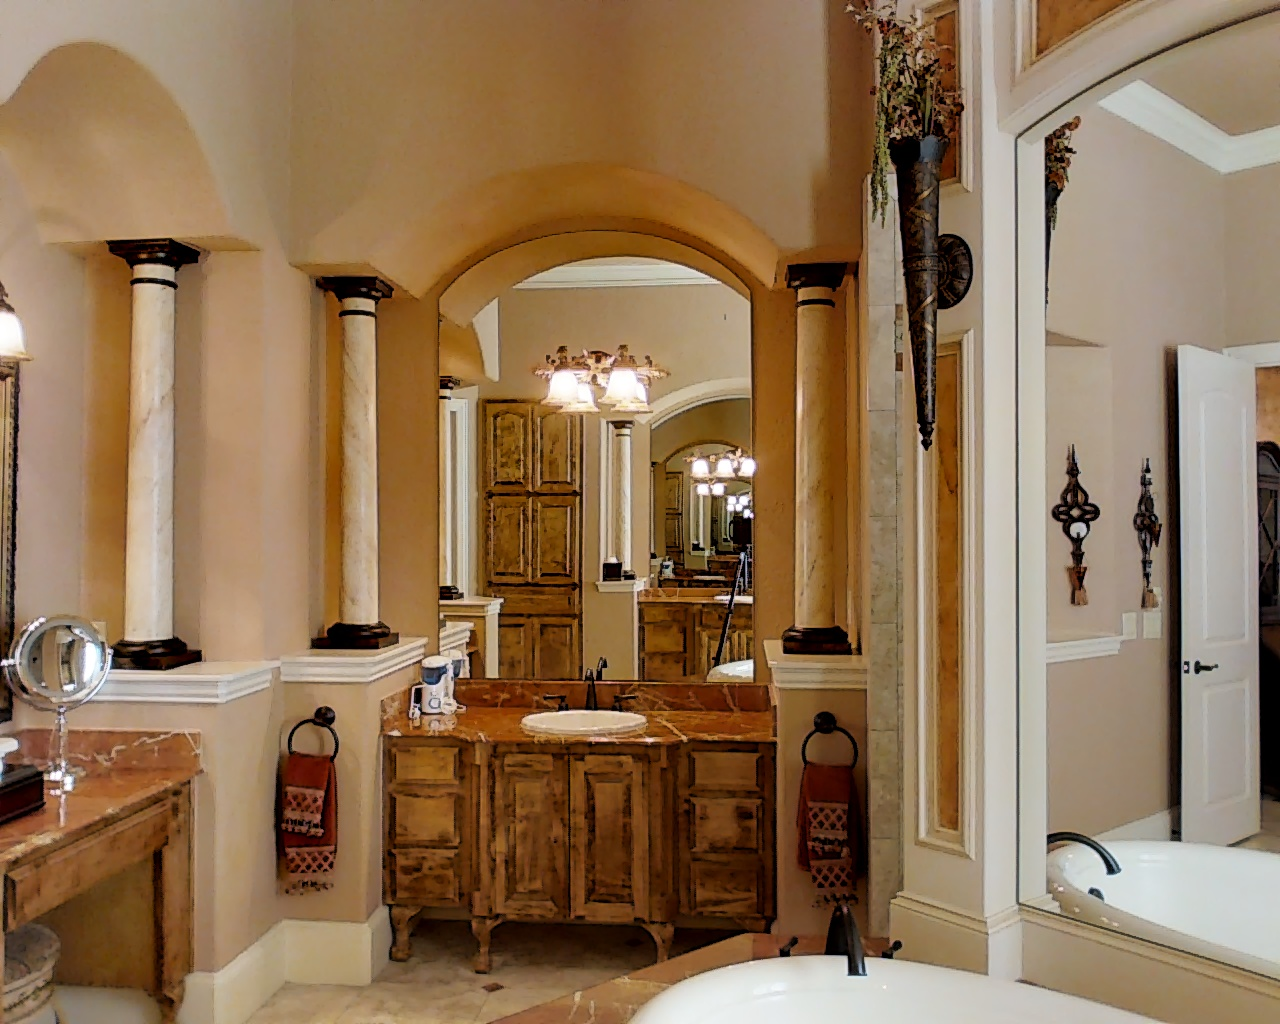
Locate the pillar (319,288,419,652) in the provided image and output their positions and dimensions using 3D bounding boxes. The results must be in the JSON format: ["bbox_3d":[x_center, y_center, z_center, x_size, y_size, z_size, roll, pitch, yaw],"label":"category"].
[{"bbox_3d":[-0.990,-0.150,3.950,0.270,1.290,0.270,0,-1,3],"label":"pillar"}]

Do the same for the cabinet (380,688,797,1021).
[{"bbox_3d":[-0.150,1.170,3.860,1.390,0.950,0.600,0,-1,7],"label":"cabinet"}]

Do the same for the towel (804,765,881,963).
[{"bbox_3d":[0.630,1.090,3.360,0.220,0.560,0.150,0,-1,6],"label":"towel"}]

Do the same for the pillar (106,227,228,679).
[{"bbox_3d":[-1.489,-0.180,3.400,0.240,1.370,0.250,0,-1,6],"label":"pillar"}]

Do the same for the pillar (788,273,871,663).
[{"bbox_3d":[0.660,-0.150,3.770,0.260,1.320,0.250,0,-1,6],"label":"pillar"}]

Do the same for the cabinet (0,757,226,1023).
[{"bbox_3d":[-1.589,1.170,2.730,0.590,0.860,1.040,0,-1,6],"label":"cabinet"}]
